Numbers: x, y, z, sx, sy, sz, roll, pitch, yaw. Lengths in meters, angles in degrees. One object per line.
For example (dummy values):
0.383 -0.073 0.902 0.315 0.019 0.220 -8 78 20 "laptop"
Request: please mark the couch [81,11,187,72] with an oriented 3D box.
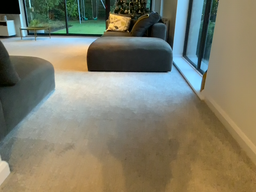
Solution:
0.060 -1.100 3.760 1.280 0.700 2.310 2 22 -1 "couch"
